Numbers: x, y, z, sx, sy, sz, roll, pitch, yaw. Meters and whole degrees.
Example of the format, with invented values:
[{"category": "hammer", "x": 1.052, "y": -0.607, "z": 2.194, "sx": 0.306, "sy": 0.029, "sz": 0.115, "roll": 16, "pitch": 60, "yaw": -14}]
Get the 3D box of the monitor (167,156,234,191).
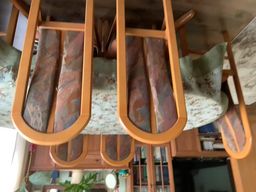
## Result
[{"category": "monitor", "x": 1.270, "y": 1.410, "z": 3.730, "sx": 1.100, "sy": 0.680, "sz": 0.100, "roll": 2, "pitch": 157, "yaw": -7}]
